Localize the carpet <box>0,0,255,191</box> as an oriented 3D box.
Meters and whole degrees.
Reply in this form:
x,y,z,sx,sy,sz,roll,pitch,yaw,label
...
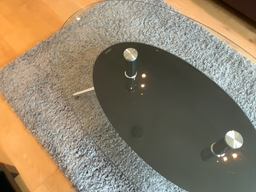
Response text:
x,y,z,sx,sy,sz,roll,pitch,yaw,label
0.180,0.030,1.160,1.250,0.060,1.780,-40,71,-16,carpet
